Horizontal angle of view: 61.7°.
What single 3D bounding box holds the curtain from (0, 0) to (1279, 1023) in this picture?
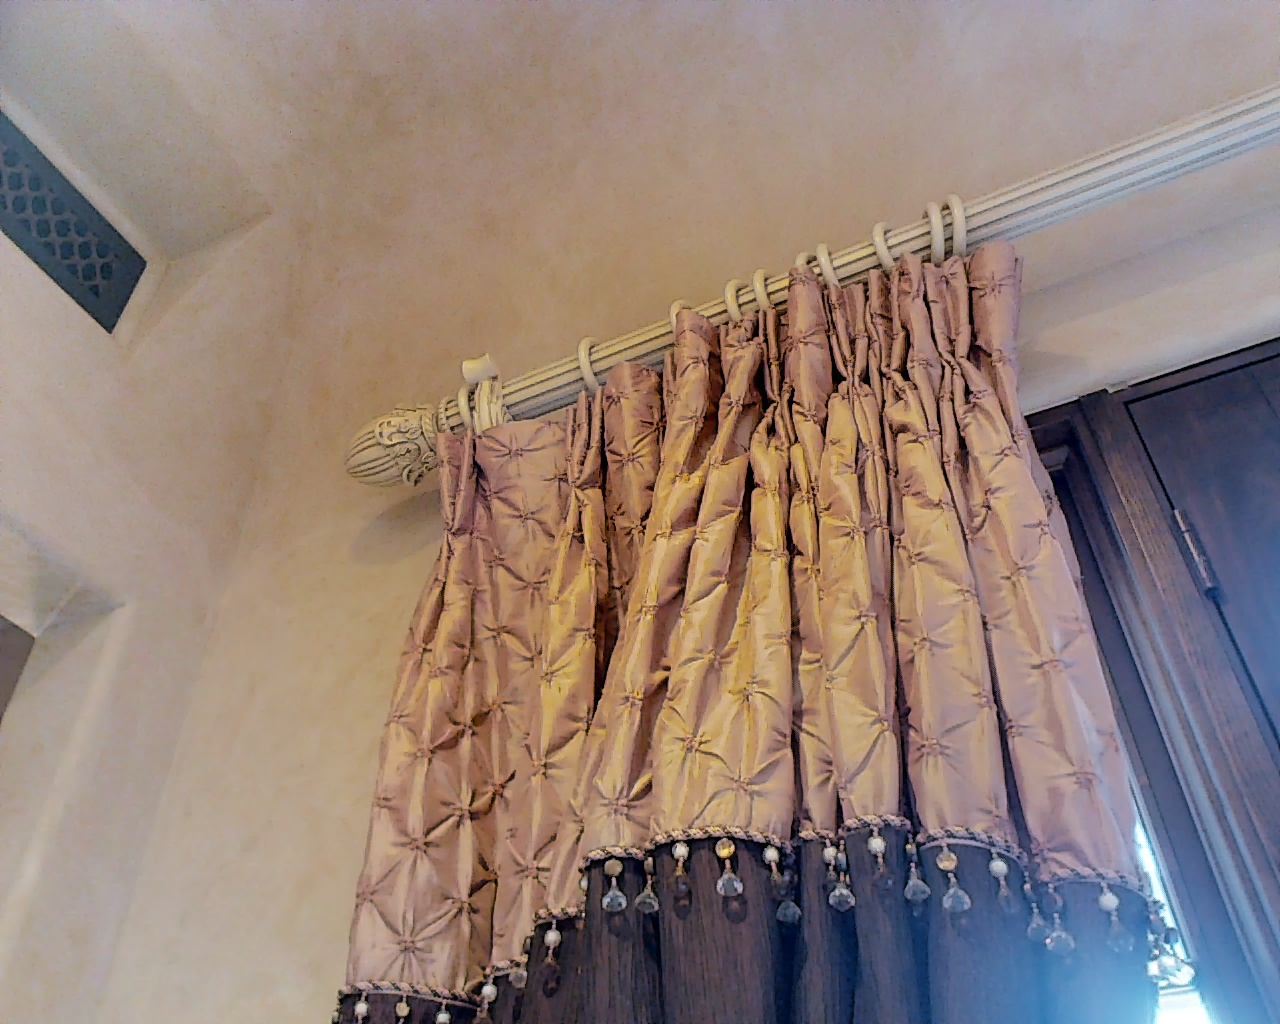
[{"bbox_3d":[0.020,0.690,0.400,0.810,2.620,0.360,-16,-44,17],"label":"curtain"}]
